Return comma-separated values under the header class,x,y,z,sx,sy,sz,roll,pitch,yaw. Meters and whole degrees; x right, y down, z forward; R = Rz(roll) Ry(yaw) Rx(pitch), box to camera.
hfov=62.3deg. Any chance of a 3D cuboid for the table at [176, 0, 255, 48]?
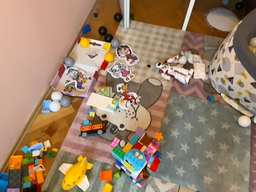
class,x,y,z,sx,sy,sz,roll,pitch,yaw
table,0.730,-0.820,1.640,0.500,0.490,0.610,16,62,7
